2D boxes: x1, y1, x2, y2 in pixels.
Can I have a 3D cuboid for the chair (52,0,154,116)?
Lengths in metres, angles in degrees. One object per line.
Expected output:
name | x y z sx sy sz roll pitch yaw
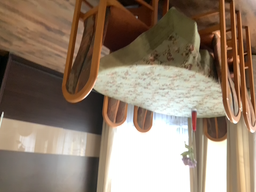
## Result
chair | -0.130 -0.410 1.470 0.400 1.010 0.460 -9 159 41

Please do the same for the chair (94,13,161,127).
chair | 0.010 -0.220 2.160 0.470 1.010 0.390 -10 159 43

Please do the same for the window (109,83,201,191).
window | 0.350 0.980 3.350 1.590 2.160 0.170 -10 159 43

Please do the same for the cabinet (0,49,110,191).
cabinet | -1.320 0.700 3.510 0.620 2.240 1.890 -10 159 42
